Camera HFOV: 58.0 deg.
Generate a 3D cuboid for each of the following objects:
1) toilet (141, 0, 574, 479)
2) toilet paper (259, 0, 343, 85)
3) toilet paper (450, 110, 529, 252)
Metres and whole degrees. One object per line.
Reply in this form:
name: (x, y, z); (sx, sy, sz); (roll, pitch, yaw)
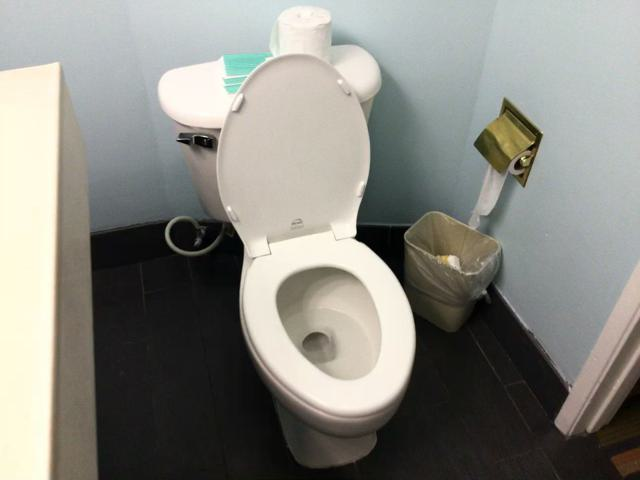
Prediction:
toilet: (0.000, 0.040, 1.280); (0.530, 0.850, 0.740); (-13, 42, -11)
toilet paper: (-0.040, -0.420, 1.220); (0.140, 0.110, 0.140); (-13, 42, -11)
toilet paper: (0.410, -0.140, 1.430); (0.090, 0.320, 0.130); (-13, 42, -11)
